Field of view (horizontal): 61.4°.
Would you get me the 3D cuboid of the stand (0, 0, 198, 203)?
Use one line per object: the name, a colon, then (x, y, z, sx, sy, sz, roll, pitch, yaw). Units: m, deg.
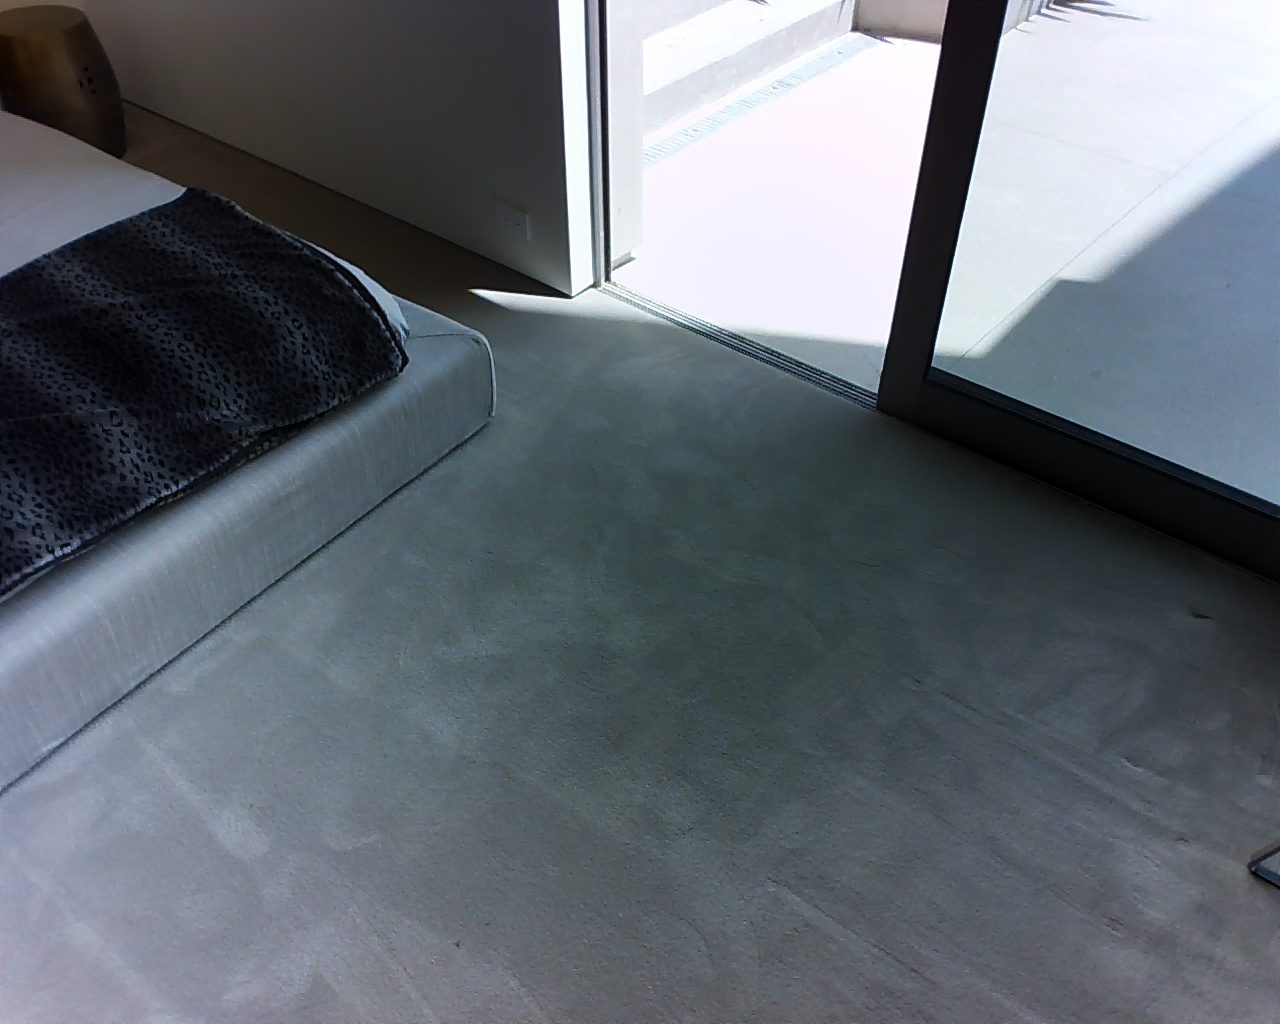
stand: (-1.910, -1.390, 3.500, 0.570, 0.440, 0.560, 25, 48, 24)
